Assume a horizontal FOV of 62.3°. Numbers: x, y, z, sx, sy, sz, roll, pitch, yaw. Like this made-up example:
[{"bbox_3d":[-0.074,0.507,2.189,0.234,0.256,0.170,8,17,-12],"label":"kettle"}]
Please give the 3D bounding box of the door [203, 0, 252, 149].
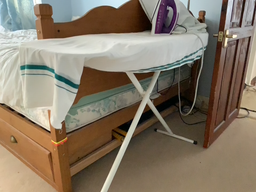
[{"bbox_3d":[0.780,-0.630,1.480,0.040,1.960,0.670,15,25,34],"label":"door"}]
